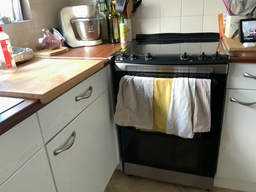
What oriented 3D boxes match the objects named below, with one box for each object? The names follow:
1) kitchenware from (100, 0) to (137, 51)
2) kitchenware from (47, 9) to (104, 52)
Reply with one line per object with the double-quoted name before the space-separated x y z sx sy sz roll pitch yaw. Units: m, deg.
"kitchenware" -0.060 -0.550 1.660 0.200 0.350 0.220 5 25 18
"kitchenware" -0.400 -0.530 1.690 0.290 0.280 0.310 5 25 17
